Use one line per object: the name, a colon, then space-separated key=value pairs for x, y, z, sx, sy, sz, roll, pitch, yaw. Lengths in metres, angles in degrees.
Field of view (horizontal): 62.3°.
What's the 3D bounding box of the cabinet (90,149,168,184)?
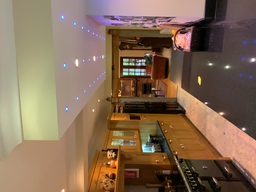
cabinet: x=0.010 y=1.280 z=3.860 sx=0.390 sy=1.340 sz=0.450 roll=-94 pitch=5 yaw=-77
